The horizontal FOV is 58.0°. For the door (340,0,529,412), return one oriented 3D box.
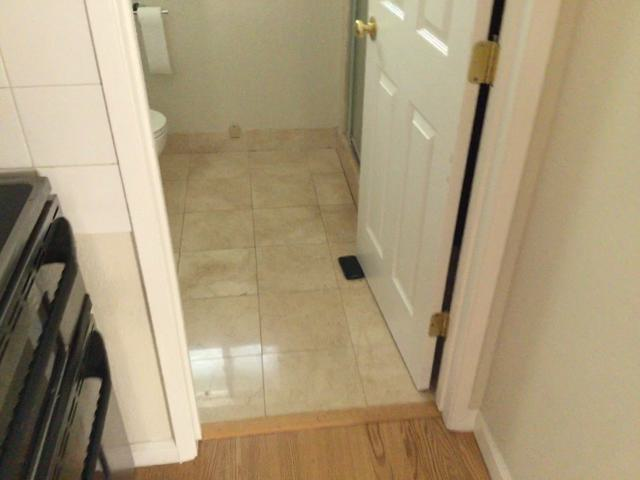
[{"bbox_3d":[0.240,-0.580,1.510,0.160,2.020,0.890,-5,35,-8],"label":"door"}]
